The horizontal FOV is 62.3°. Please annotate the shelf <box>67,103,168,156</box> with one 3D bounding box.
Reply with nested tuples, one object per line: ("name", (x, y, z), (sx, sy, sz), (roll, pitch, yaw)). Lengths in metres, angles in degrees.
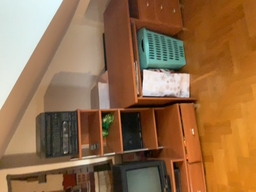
("shelf", (-0.120, 0.320, 2.120), (0.470, 0.860, 0.430), (-25, 67, 61))
